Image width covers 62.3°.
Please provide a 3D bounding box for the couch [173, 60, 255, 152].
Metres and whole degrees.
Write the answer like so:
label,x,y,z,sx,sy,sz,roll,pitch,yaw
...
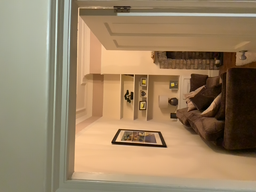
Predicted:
label,x,y,z,sx,sy,sz,roll,pitch,yaw
couch,1.400,0.100,3.450,2.000,0.950,1.040,-25,-63,-87
